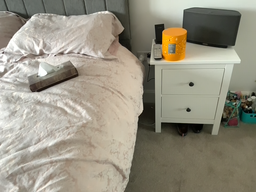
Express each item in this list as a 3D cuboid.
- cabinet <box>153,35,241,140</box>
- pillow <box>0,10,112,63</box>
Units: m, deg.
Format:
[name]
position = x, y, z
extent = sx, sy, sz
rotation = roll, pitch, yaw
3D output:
[cabinet]
position = 0.470, -0.070, 1.640
extent = 0.510, 0.660, 0.420
rotation = 3, 37, 11
[pillow]
position = -0.450, -0.390, 1.360
extent = 0.610, 0.170, 0.430
rotation = 1, 36, 8
